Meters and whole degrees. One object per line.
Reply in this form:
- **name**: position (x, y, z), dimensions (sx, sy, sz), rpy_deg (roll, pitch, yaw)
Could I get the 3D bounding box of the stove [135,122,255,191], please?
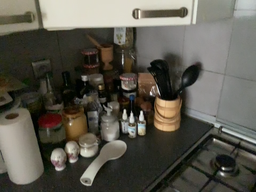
- **stove**: position (0.370, 0.370, 0.680), dimensions (0.500, 0.180, 0.600), rpy_deg (22, 34, 40)
